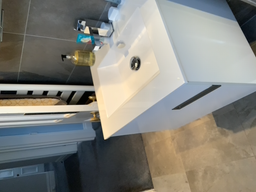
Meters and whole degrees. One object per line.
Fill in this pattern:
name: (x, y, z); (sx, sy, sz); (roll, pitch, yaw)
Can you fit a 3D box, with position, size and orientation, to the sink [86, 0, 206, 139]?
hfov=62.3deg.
sink: (0.000, -0.130, 0.960); (0.610, 0.110, 0.490); (-41, 56, 50)
